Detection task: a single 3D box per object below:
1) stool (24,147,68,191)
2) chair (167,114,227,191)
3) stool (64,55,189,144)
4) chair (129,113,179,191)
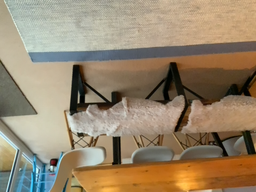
[{"bbox_3d":[-1.150,1.300,2.980,0.410,1.010,0.430,-4,144,0],"label":"stool"},{"bbox_3d":[0.760,0.650,2.500,0.430,0.780,0.360,-4,144,-1],"label":"chair"},{"bbox_3d":[-0.020,0.050,1.860,0.880,0.480,0.590,-3,144,-2],"label":"stool"},{"bbox_3d":[0.260,0.630,2.440,0.430,0.750,0.360,-4,144,-1],"label":"chair"}]
